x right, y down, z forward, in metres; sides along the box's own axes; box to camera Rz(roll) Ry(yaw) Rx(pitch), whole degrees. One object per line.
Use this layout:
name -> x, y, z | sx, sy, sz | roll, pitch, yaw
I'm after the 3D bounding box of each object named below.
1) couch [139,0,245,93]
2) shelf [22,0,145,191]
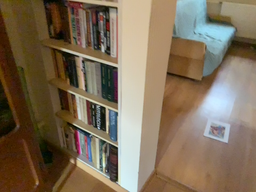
couch -> 1.180, -1.100, 3.570 | 1.030, 1.000, 2.200 | 19, 35, 24
shelf -> -0.260, -0.320, 1.170 | 0.660, 1.970, 0.190 | 21, 36, 27
